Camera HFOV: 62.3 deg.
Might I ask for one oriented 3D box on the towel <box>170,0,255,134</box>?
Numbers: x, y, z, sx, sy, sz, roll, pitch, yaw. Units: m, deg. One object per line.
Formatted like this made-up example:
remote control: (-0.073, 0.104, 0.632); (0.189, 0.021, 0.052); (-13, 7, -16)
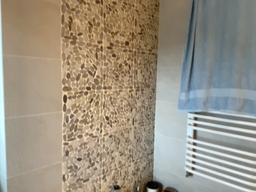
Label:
towel: (0.630, -0.290, 1.350); (0.630, 0.950, 0.260); (6, 7, 40)
